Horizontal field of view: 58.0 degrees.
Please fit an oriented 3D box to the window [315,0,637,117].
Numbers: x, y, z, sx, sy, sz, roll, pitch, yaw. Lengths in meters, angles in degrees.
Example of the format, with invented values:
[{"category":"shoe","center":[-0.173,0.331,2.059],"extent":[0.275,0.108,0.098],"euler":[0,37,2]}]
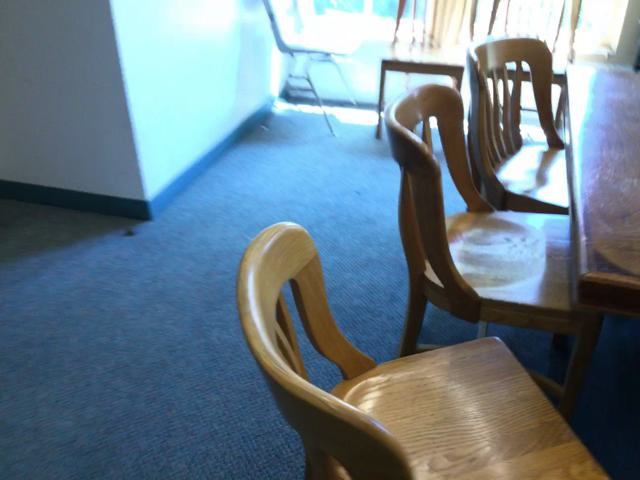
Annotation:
[{"category":"window","center":[0.830,-1.500,3.230],"extent":[1.710,1.450,0.340],"euler":[8,33,16]}]
